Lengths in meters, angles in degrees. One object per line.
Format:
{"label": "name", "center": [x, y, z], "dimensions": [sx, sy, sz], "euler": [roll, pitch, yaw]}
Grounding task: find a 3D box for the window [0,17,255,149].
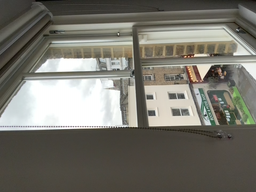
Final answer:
{"label": "window", "center": [0.050, -0.190, 1.110], "dimensions": [1.090, 1.300, 0.050], "euler": [-90, -2, -52]}
